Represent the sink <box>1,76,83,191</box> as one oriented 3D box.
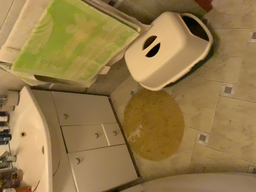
[{"bbox_3d":[-0.620,0.350,1.420,0.510,0.160,0.810,-41,62,32],"label":"sink"}]
